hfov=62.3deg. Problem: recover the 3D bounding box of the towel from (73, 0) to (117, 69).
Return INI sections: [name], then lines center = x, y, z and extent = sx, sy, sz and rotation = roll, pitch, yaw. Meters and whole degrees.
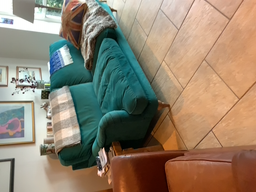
[towel]
center = -0.440, -0.800, 2.620
extent = 0.630, 0.270, 0.660
rotation = 65, 144, 40
